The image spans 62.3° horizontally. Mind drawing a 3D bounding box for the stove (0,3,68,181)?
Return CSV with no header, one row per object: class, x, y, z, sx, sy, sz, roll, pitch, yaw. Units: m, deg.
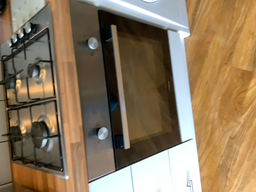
stove,-0.420,0.010,0.850,0.530,0.020,0.560,-8,88,43
